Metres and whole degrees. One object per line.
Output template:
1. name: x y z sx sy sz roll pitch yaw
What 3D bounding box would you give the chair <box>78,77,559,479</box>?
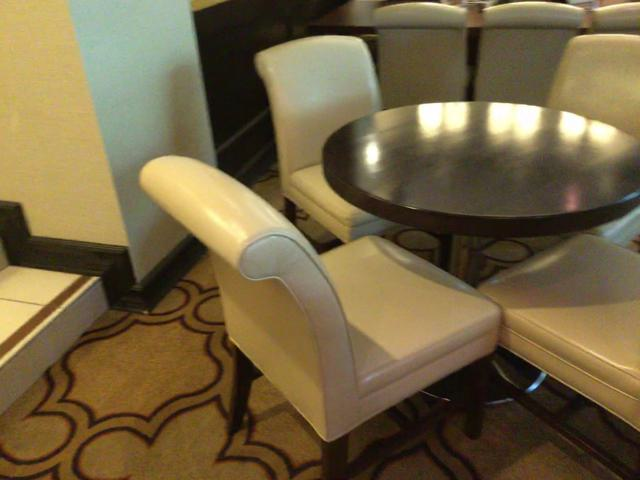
1. chair: 0.020 0.190 1.470 0.850 0.930 0.600 -21 33 -25

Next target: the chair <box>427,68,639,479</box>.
1. chair: 0.750 0.150 1.390 0.560 0.880 0.830 -21 33 -25

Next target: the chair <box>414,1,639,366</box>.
1. chair: 0.890 -0.270 2.070 0.840 0.940 0.680 -22 33 -26

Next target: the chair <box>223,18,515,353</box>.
1. chair: 0.160 -0.290 2.310 0.660 0.950 0.920 -19 32 -22
